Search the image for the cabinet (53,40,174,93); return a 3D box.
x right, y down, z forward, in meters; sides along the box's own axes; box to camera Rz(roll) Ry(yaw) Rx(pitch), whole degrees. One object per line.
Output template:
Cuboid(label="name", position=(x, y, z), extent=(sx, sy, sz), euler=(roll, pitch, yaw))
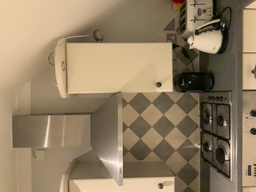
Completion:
Cuboid(label="cabinet", position=(-0.100, -0.210, 1.650), extent=(0.380, 0.830, 0.360), euler=(-147, 57, -87))

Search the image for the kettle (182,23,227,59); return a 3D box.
Cuboid(label="kettle", position=(0.530, -0.380, 1.500), extent=(0.250, 0.220, 0.190), euler=(178, 91, -87))

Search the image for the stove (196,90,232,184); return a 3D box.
Cuboid(label="stove", position=(0.630, 0.250, 1.610), extent=(0.560, 0.020, 0.590), euler=(-147, 57, -87))
